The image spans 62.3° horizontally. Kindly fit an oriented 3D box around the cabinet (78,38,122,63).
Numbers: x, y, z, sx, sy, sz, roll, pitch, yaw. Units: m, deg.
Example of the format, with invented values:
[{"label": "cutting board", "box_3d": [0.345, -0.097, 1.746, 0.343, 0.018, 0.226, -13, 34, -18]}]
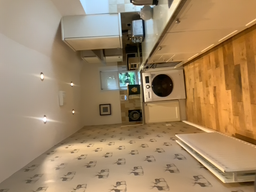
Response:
[{"label": "cabinet", "box_3d": [-0.530, -0.910, 4.320, 0.650, 0.800, 0.310, 154, 113, -89]}]
